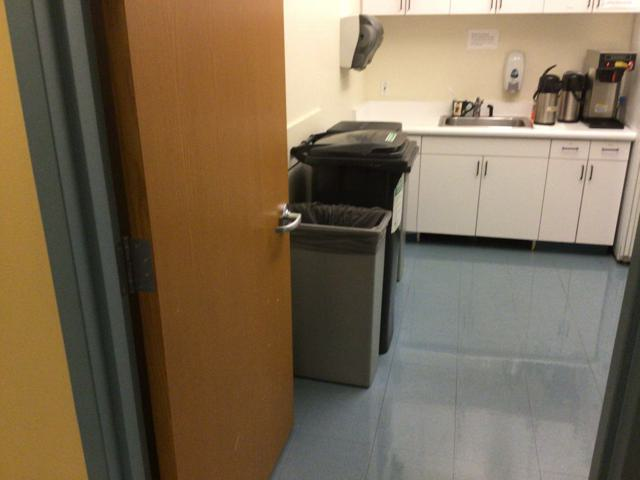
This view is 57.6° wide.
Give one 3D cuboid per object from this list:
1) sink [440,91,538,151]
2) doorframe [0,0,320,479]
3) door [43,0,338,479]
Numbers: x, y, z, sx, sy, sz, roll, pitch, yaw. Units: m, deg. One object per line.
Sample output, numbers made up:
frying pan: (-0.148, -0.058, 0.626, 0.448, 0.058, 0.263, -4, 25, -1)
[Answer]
sink: (1.170, -0.830, 4.020, 0.580, 0.320, 0.470, 5, 22, 23)
doorframe: (-0.260, 0.120, 1.680, 0.100, 1.860, 1.290, 2, 21, 14)
door: (-0.200, 0.100, 1.600, 0.190, 1.720, 0.920, 3, 21, 16)
